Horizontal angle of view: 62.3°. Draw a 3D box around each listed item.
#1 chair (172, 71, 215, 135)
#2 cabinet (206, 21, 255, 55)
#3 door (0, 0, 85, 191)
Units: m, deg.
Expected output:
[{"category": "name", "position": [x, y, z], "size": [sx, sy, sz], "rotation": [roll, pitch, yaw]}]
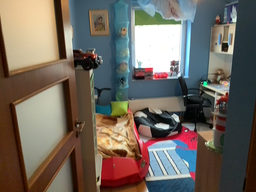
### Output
[{"category": "chair", "position": [1.240, 0.100, 4.030], "size": [0.660, 1.030, 0.620], "rotation": [4, 16, 19]}, {"category": "cabinet", "position": [1.820, -1.020, 3.770], "size": [0.370, 0.510, 1.010], "rotation": [-3, 15, -7]}, {"category": "door", "position": [-0.420, 0.360, 1.110], "size": [0.110, 2.020, 0.800], "rotation": [0, 15, 5]}]
